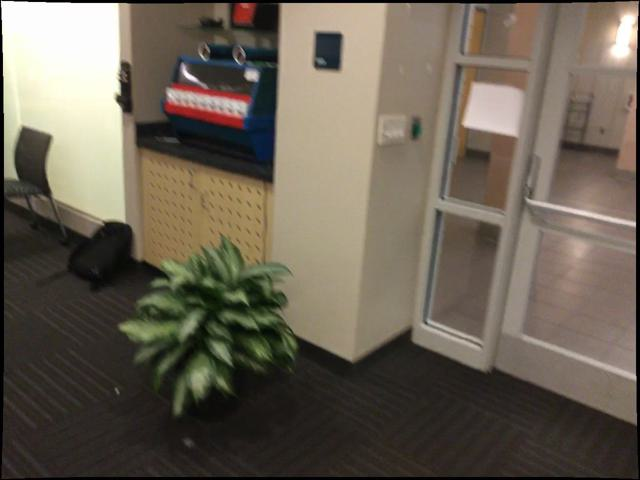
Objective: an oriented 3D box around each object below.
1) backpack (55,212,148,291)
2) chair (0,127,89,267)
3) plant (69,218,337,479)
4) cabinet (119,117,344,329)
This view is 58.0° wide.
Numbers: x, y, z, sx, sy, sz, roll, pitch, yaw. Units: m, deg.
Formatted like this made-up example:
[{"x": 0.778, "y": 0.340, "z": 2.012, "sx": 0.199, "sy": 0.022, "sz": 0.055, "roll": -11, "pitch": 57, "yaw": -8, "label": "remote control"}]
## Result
[{"x": -1.417, "y": 0.060, "z": 3.750, "sx": 0.429, "sy": 0.321, "sz": 0.360, "roll": 17, "pitch": 29, "yaw": 38, "label": "backpack"}, {"x": -2.195, "y": -0.341, "z": 4.190, "sx": 0.549, "sy": 0.792, "sz": 0.669, "roll": 17, "pitch": 29, "yaw": 38, "label": "chair"}, {"x": -0.449, "y": 0.391, "z": 2.370, "sx": 0.749, "sy": 0.651, "sz": 0.709, "roll": 17, "pitch": 29, "yaw": 38, "label": "plant"}, {"x": -0.529, "y": -0.180, "z": 3.490, "sx": 1.189, "sy": 0.892, "sz": 0.669, "roll": 17, "pitch": 29, "yaw": 38, "label": "cabinet"}]
